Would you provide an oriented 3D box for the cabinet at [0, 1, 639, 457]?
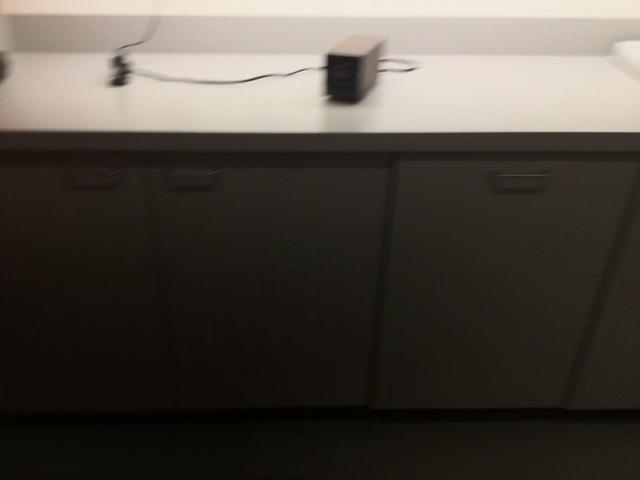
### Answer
[{"bbox_3d":[0.140,-0.050,1.500,2.010,0.970,0.630,-1,29,-1],"label":"cabinet"}]
